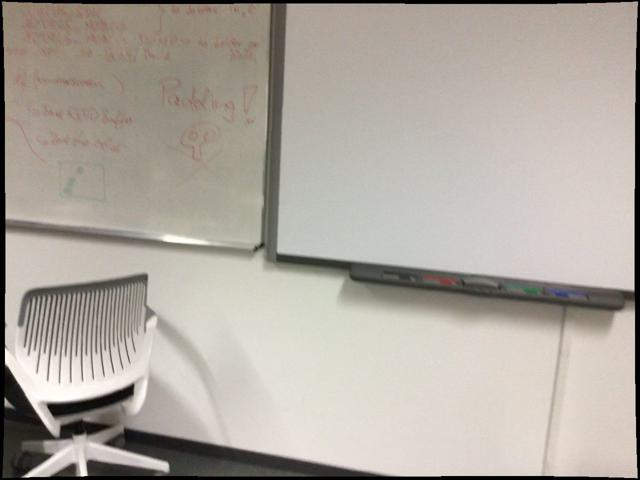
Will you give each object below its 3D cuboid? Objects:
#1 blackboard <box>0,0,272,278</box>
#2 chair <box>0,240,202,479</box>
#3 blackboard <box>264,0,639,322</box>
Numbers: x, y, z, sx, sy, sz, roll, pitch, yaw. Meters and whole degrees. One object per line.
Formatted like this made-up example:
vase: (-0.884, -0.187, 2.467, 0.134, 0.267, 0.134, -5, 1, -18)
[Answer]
blackboard: (-1.169, -0.571, 2.400, 2.038, 1.221, 0.120, 6, 14, 18)
chair: (-0.929, 0.541, 2.240, 0.640, 0.901, 0.660, 13, 17, 43)
blackboard: (0.639, -0.430, 1.950, 1.708, 1.301, 0.200, 5, 13, 17)
